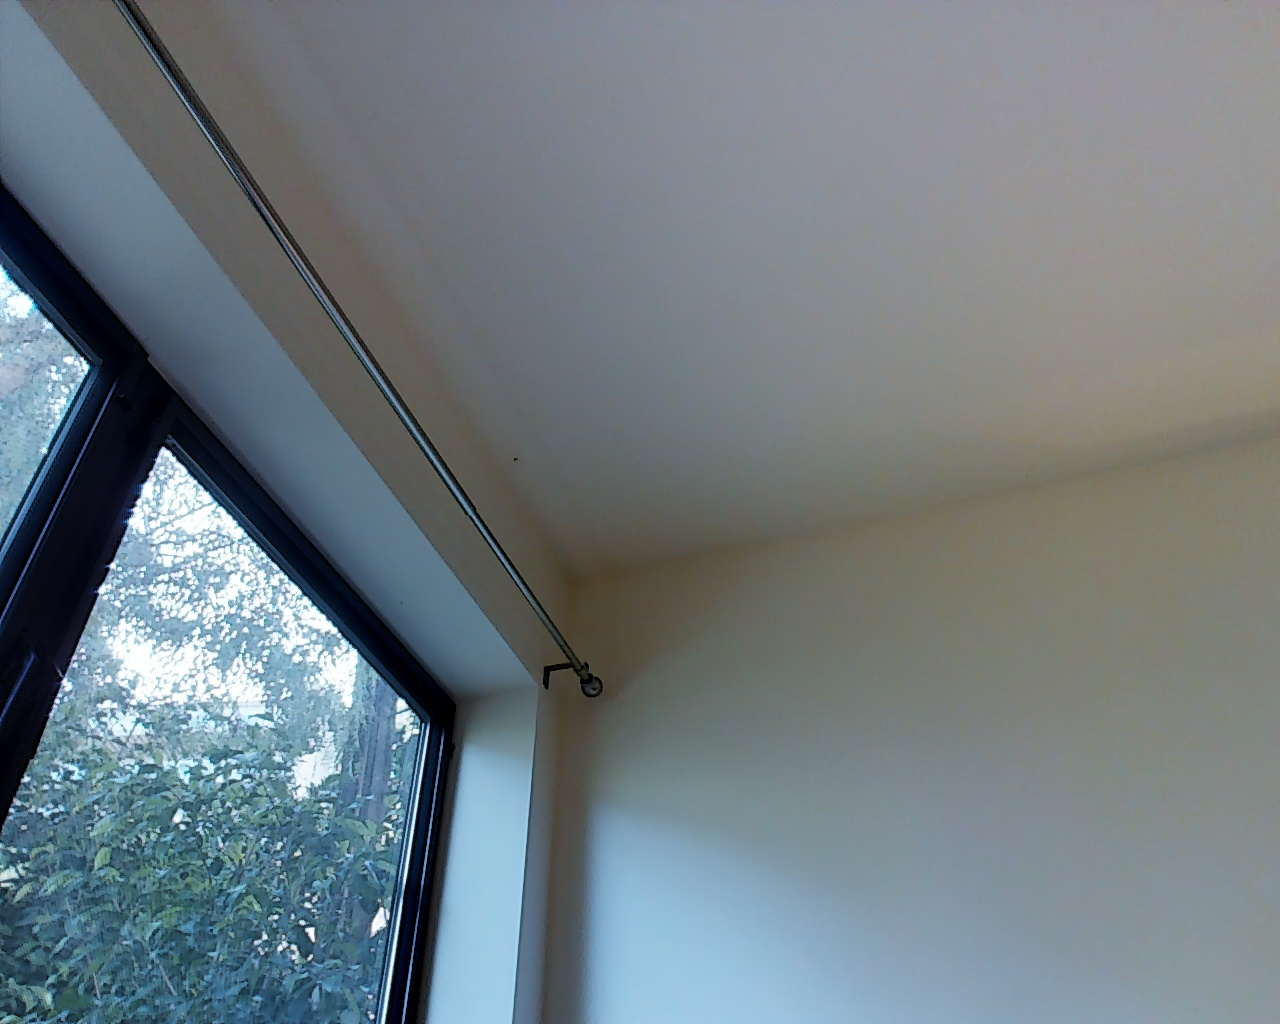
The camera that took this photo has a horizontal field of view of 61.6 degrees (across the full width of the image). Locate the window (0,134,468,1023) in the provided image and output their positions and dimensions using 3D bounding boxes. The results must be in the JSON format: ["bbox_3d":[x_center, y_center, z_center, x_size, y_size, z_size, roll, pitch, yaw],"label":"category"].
[{"bbox_3d":[-0.530,0.400,0.710,0.040,1.510,1.470,-12,-43,14],"label":"window"}]
